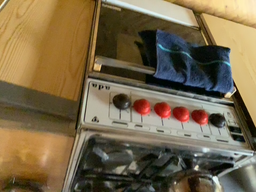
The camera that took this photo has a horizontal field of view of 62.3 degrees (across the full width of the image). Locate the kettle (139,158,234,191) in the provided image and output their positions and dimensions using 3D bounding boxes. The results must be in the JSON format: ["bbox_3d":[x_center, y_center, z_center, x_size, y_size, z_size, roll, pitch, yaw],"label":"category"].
[{"bbox_3d":[0.170,0.350,0.660,0.170,0.190,0.280,12,139,-15],"label":"kettle"}]

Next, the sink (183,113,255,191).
[{"bbox_3d":[0.500,0.280,0.890,0.370,0.190,0.350,12,139,-15],"label":"sink"}]

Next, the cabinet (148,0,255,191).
[{"bbox_3d":[0.650,0.090,1.170,0.820,0.840,0.650,12,139,-15],"label":"cabinet"}]
